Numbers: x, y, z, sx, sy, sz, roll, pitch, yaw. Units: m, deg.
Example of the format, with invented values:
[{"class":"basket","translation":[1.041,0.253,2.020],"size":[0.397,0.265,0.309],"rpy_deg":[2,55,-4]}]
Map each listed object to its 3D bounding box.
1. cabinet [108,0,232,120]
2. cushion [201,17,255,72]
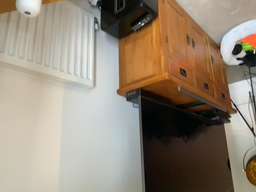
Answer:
[{"class":"cabinet","translation":[0.460,-0.300,2.010],"size":[0.500,0.820,1.310],"rpy_deg":[-16,158,38]},{"class":"cushion","translation":[1.260,-0.540,2.370],"size":[0.630,0.200,0.810],"rpy_deg":[-3,163,2]}]
